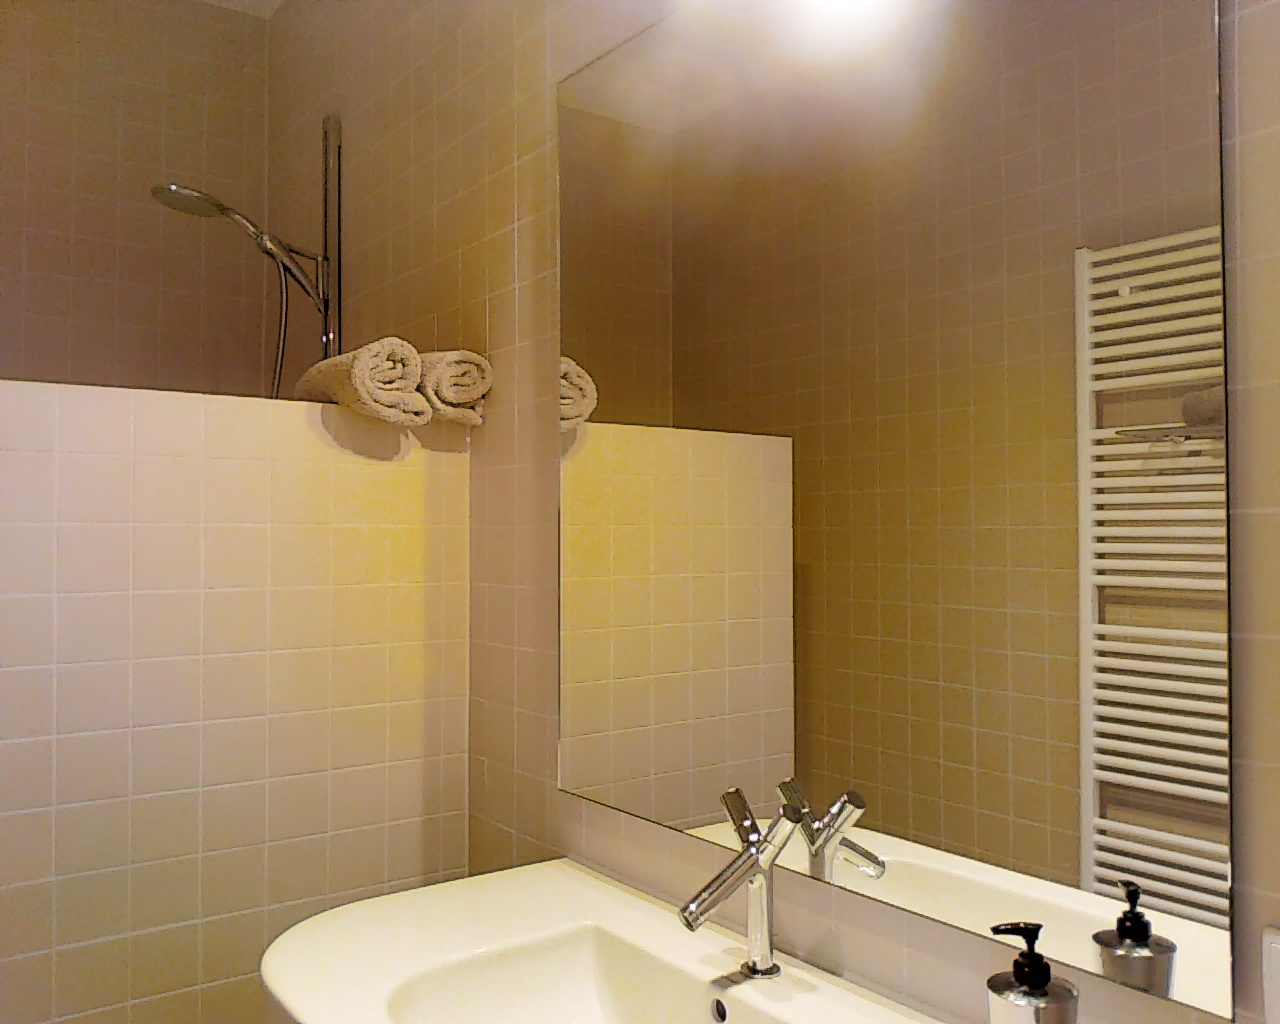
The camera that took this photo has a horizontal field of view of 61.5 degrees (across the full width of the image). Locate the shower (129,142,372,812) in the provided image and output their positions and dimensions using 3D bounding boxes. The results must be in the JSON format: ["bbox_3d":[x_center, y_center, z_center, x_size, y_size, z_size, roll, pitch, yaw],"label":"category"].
[{"bbox_3d":[-0.830,-0.070,2.360,0.460,1.340,0.310,0,-1,-14],"label":"shower"}]

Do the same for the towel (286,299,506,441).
[{"bbox_3d":[-0.440,-0.240,1.920,0.280,0.190,0.310,1,-1,-37],"label":"towel"}]
